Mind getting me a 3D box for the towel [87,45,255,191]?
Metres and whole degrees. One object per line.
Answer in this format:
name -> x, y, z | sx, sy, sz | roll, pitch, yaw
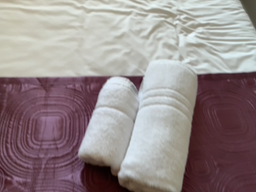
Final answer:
towel -> 0.070, 0.060, 0.550 | 0.340, 0.110, 0.400 | -1, 61, -8
